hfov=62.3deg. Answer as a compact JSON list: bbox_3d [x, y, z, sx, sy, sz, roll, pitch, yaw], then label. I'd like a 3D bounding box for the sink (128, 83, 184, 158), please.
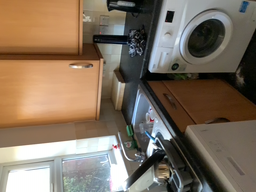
[{"bbox_3d":[0.200,0.200,1.760,0.340,0.250,0.500,-118,31,-51],"label":"sink"}]

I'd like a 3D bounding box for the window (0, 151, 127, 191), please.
[{"bbox_3d":[-0.510,0.830,1.690,0.800,1.000,0.090,-119,32,-52],"label":"window"}]
